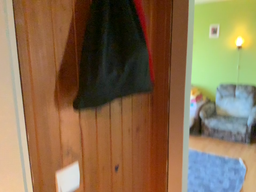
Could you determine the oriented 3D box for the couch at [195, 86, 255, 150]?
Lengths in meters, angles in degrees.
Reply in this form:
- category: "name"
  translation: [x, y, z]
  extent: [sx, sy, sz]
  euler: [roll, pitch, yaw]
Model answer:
- category: "couch"
  translation: [2.090, 0.390, 4.510]
  extent: [1.030, 1.060, 0.820]
  euler: [7, 13, 35]
